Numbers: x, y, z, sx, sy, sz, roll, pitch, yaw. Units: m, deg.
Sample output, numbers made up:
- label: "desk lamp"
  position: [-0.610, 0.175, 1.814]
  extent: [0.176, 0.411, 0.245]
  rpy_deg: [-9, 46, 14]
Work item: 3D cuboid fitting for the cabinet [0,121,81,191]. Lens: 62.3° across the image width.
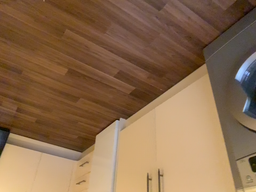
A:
- label: "cabinet"
  position: [-1.090, 0.880, 2.370]
  extent: [0.850, 0.870, 0.480]
  rpy_deg: [24, 140, -26]
